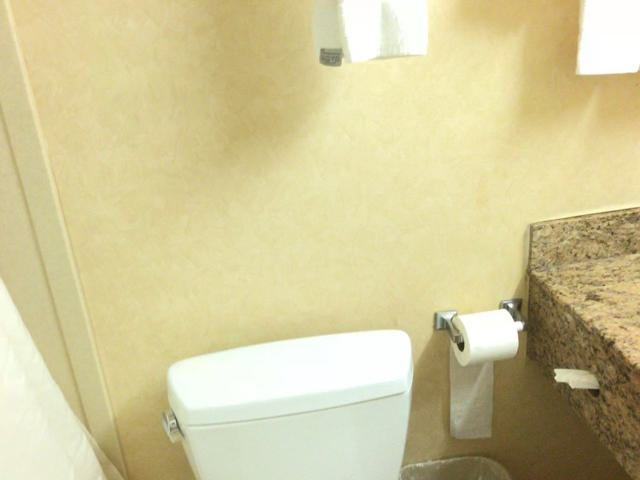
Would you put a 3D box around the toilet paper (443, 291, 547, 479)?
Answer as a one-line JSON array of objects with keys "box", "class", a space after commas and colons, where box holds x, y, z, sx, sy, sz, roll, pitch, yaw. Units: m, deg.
[{"box": [0.380, 0.330, 1.290, 0.170, 0.400, 0.120, -7, 23, -7], "class": "toilet paper"}]
